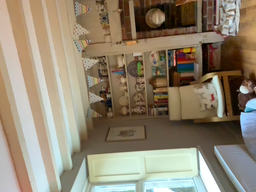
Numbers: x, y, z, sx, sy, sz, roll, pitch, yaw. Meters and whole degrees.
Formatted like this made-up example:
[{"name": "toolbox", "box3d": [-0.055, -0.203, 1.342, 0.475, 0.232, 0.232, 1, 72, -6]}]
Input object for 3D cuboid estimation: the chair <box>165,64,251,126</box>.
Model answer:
[{"name": "chair", "box3d": [1.130, 0.040, 3.270, 0.830, 0.970, 0.750, 64, -158, -79]}]
